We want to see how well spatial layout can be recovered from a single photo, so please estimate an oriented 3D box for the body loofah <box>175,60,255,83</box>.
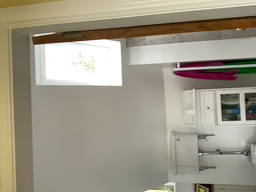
[{"bbox_3d":[1.140,-0.280,2.480,0.380,1.140,0.200,-4,-87,-81],"label":"body loofah"}]
